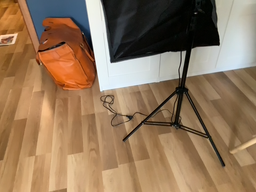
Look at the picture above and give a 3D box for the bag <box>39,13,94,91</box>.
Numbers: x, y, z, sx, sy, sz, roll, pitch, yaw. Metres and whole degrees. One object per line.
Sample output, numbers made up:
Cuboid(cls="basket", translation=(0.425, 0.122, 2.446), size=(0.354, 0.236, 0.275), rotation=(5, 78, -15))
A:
Cuboid(cls="bag", translation=(-0.530, -0.390, 1.820), size=(0.330, 0.420, 0.510), rotation=(-13, 42, -12))
